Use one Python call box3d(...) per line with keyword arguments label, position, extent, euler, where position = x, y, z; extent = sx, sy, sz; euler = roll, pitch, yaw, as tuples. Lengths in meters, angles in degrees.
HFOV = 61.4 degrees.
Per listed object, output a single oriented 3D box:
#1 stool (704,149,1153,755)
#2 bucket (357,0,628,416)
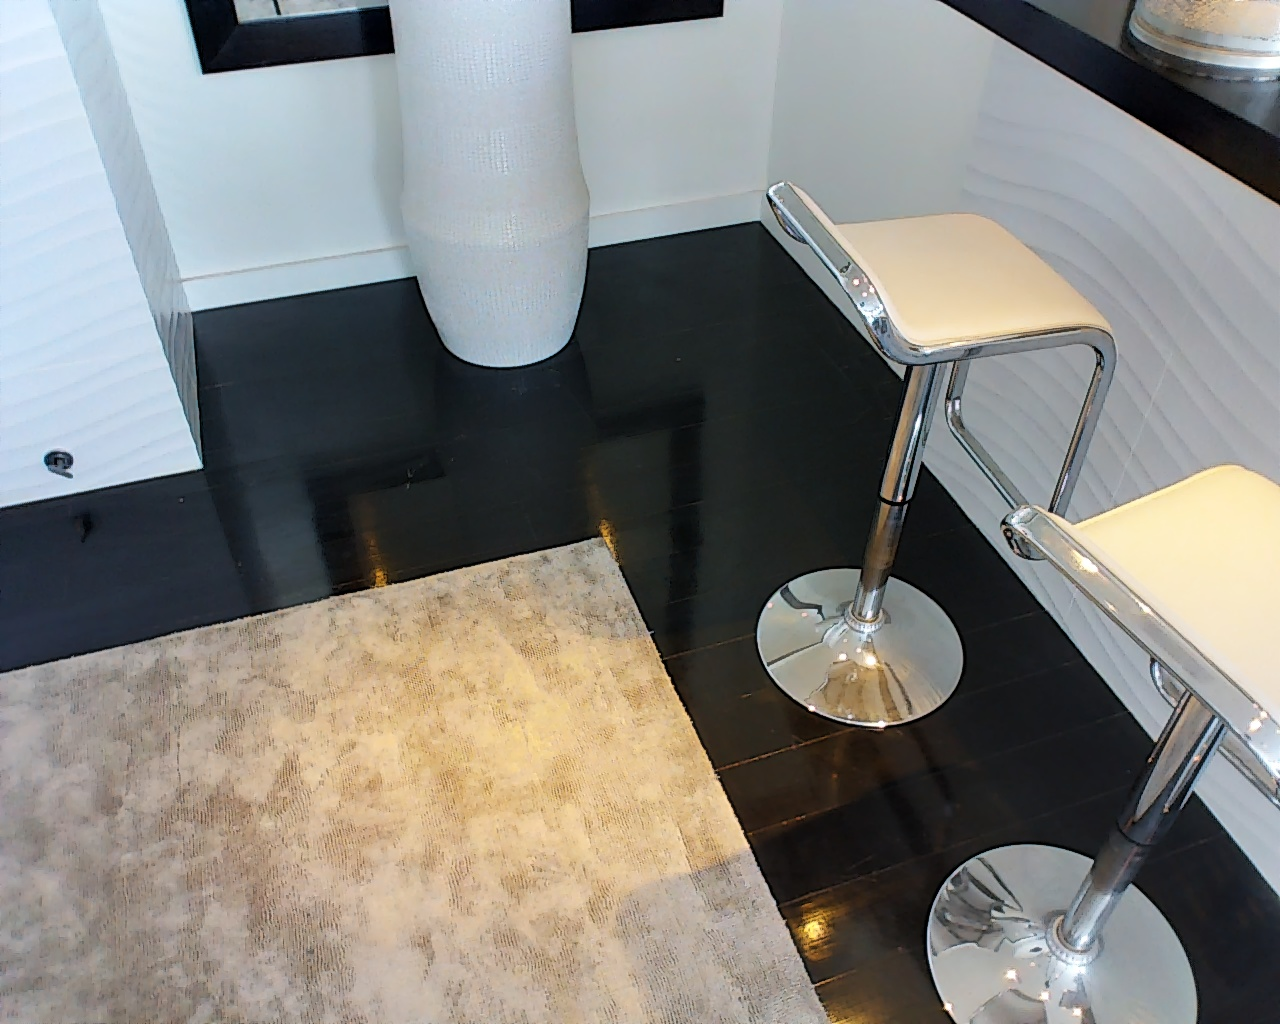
box3d(label="stool", position=(0.390, -0.060, 1.740), extent=(0.430, 0.890, 0.340), euler=(-12, 44, -14))
box3d(label="bucket", position=(-0.330, -0.790, 2.490), extent=(0.490, 0.990, 0.450), euler=(-11, 44, -13))
